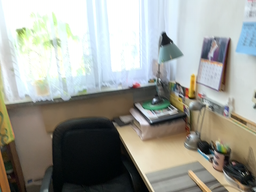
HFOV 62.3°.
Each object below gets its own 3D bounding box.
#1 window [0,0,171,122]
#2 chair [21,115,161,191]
[{"bbox_3d":[-0.270,-0.710,1.400,1.140,1.640,0.220,-8,20,-18],"label":"window"},{"bbox_3d":[-0.230,0.680,1.410,0.630,0.800,0.760,-6,20,-13],"label":"chair"}]
